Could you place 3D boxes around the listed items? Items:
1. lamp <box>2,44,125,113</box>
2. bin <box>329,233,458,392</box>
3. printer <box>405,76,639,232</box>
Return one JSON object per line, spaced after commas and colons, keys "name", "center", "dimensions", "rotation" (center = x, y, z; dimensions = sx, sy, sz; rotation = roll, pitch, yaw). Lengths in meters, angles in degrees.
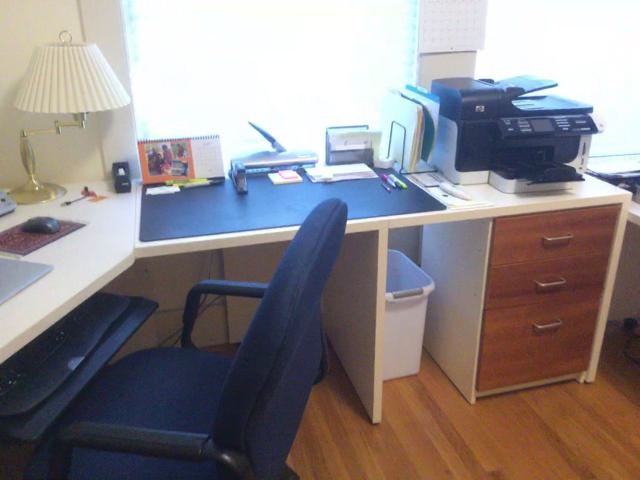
{"name": "lamp", "center": [-0.730, -0.480, 1.690], "dimensions": [0.270, 0.170, 0.290], "rotation": [-5, 20, -14]}
{"name": "bin", "center": [0.250, 0.250, 2.180], "dimensions": [0.320, 0.400, 0.460], "rotation": [-5, 20, -14]}
{"name": "printer", "center": [0.660, -0.330, 1.970], "dimensions": [0.520, 0.390, 0.610], "rotation": [-5, 20, -14]}
